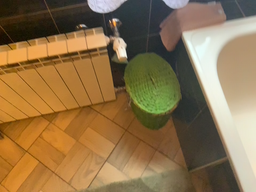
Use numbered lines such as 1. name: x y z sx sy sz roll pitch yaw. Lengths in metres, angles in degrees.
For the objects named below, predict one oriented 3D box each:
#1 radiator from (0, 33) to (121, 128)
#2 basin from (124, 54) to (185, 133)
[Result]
1. radiator: -0.450 -0.030 1.140 0.780 0.630 0.130 -7 66 -2
2. basin: 0.130 0.000 1.260 0.260 0.350 0.320 -8 66 -2
